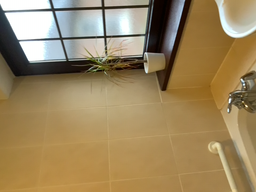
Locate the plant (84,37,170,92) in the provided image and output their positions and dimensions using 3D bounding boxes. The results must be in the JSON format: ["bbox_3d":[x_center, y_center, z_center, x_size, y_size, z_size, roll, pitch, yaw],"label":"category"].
[{"bbox_3d":[-0.020,-0.220,1.510,0.320,0.540,0.200,94,171,-56],"label":"plant"}]

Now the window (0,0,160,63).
[{"bbox_3d":[-0.310,-0.500,1.400,0.630,0.990,0.110,94,171,-56],"label":"window"}]
